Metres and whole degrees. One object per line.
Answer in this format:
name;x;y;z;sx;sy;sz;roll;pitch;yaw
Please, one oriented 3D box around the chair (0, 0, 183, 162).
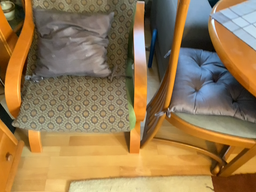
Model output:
chair;-0.230;-0.220;1.060;0.650;0.980;0.740;3;53;-2
